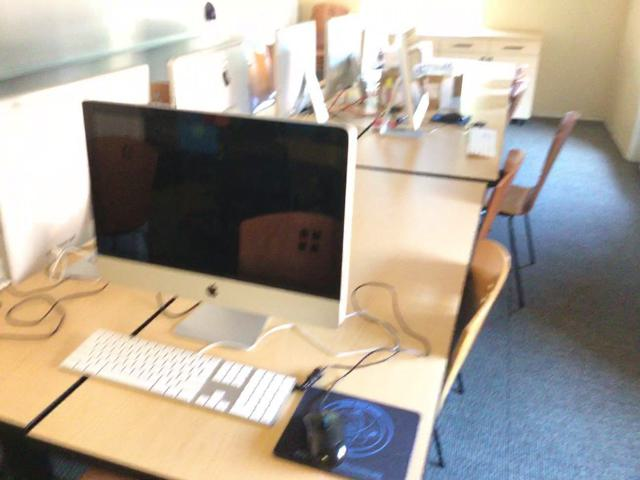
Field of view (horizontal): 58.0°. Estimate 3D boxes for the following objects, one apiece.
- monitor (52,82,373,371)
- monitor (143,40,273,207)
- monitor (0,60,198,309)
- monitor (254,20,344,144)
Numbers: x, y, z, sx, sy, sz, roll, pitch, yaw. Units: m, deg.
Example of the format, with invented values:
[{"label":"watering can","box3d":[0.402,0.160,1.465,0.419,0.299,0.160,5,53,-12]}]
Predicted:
[{"label":"monitor","box3d":[-0.190,-0.040,1.100,0.520,0.440,0.190,9,26,15]},{"label":"monitor","box3d":[-0.320,-0.390,1.820,0.160,0.400,0.520,9,26,15]},{"label":"monitor","box3d":[-0.490,-0.160,1.290,0.180,0.390,0.520,9,26,15]},{"label":"monitor","box3d":[-0.080,-0.700,2.500,0.220,0.430,0.510,9,26,15]}]
